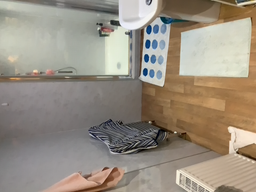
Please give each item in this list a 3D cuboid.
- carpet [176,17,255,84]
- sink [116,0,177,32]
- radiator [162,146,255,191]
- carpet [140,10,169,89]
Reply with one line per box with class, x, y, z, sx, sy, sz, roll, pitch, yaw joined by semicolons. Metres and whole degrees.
carpet;0.750;-0.380;1.960;0.810;0.030;0.500;11;103;59
sink;0.110;-0.720;1.570;0.560;0.150;0.390;13;104;59
radiator;0.740;0.540;1.280;0.790;0.720;0.100;13;104;59
carpet;0.320;-0.560;2.700;0.550;0.030;0.900;10;102;59
